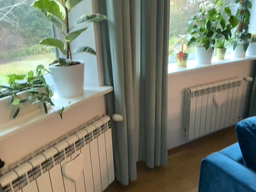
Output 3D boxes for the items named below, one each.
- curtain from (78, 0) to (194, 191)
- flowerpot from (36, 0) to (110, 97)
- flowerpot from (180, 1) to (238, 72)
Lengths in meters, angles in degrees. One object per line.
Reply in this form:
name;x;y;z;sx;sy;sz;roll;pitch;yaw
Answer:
curtain;0.090;-0.570;1.570;0.810;2.850;0.310;-16;24;-33
flowerpot;-0.350;-0.480;1.340;0.360;0.910;0.210;9;23;28
flowerpot;0.860;-0.660;2.330;0.360;0.670;0.410;-11;22;-24
